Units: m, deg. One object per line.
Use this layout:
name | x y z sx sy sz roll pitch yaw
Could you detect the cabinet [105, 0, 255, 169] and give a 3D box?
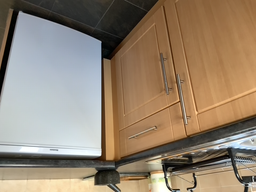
cabinet | 0.430 -0.170 1.130 0.600 0.920 1.130 12 151 -33
